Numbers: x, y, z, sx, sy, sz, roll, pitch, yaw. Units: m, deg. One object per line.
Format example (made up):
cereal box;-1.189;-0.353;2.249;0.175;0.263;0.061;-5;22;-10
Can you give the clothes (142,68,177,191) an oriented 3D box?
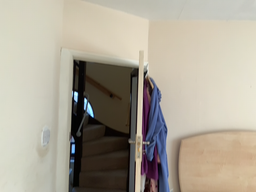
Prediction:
clothes;0.250;0.460;1.900;0.220;1.330;0.630;2;-1;4
